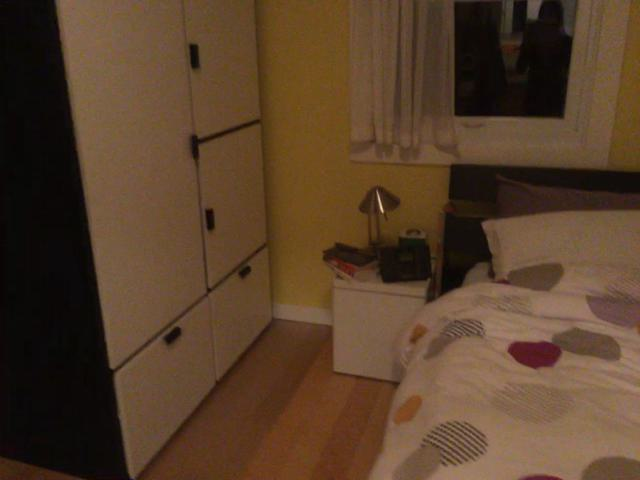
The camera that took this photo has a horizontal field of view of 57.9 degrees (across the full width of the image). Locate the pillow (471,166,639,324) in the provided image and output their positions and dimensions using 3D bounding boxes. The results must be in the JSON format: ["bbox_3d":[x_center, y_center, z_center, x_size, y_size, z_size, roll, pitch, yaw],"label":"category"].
[{"bbox_3d":[0.930,0.000,1.930,0.770,0.330,0.510,7,21,15],"label":"pillow"}]

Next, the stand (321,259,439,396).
[{"bbox_3d":[0.230,0.340,2.280,0.420,0.460,0.150,7,21,15],"label":"stand"}]

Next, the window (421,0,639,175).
[{"bbox_3d":[0.810,-0.870,2.140,0.730,1.140,0.390,7,21,15],"label":"window"}]
